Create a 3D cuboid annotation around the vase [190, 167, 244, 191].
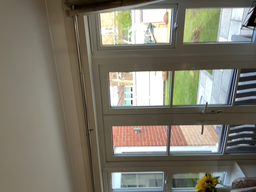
[{"bbox_3d":[0.950,1.020,2.320,0.320,0.420,0.330,-91,0,-68],"label":"vase"}]
